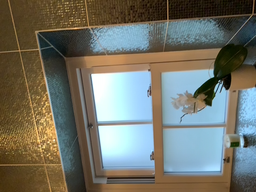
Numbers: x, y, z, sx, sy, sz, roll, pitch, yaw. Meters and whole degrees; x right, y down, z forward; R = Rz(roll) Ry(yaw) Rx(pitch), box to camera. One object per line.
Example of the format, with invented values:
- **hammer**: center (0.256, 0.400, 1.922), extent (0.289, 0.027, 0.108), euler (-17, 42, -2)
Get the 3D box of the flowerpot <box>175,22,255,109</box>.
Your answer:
- **flowerpot**: center (0.490, -0.180, 1.120), extent (0.370, 0.420, 0.350), euler (-81, -12, -67)
